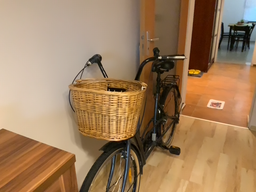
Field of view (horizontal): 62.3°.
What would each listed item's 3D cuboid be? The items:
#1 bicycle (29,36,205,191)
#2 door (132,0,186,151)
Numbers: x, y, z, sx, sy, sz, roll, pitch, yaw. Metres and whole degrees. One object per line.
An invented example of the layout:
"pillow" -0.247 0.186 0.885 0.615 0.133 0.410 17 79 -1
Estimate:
"bicycle" 0.190 0.200 1.690 0.420 1.120 1.740 11 25 25
"door" 0.340 -0.540 2.200 0.130 2.110 0.870 15 27 33
